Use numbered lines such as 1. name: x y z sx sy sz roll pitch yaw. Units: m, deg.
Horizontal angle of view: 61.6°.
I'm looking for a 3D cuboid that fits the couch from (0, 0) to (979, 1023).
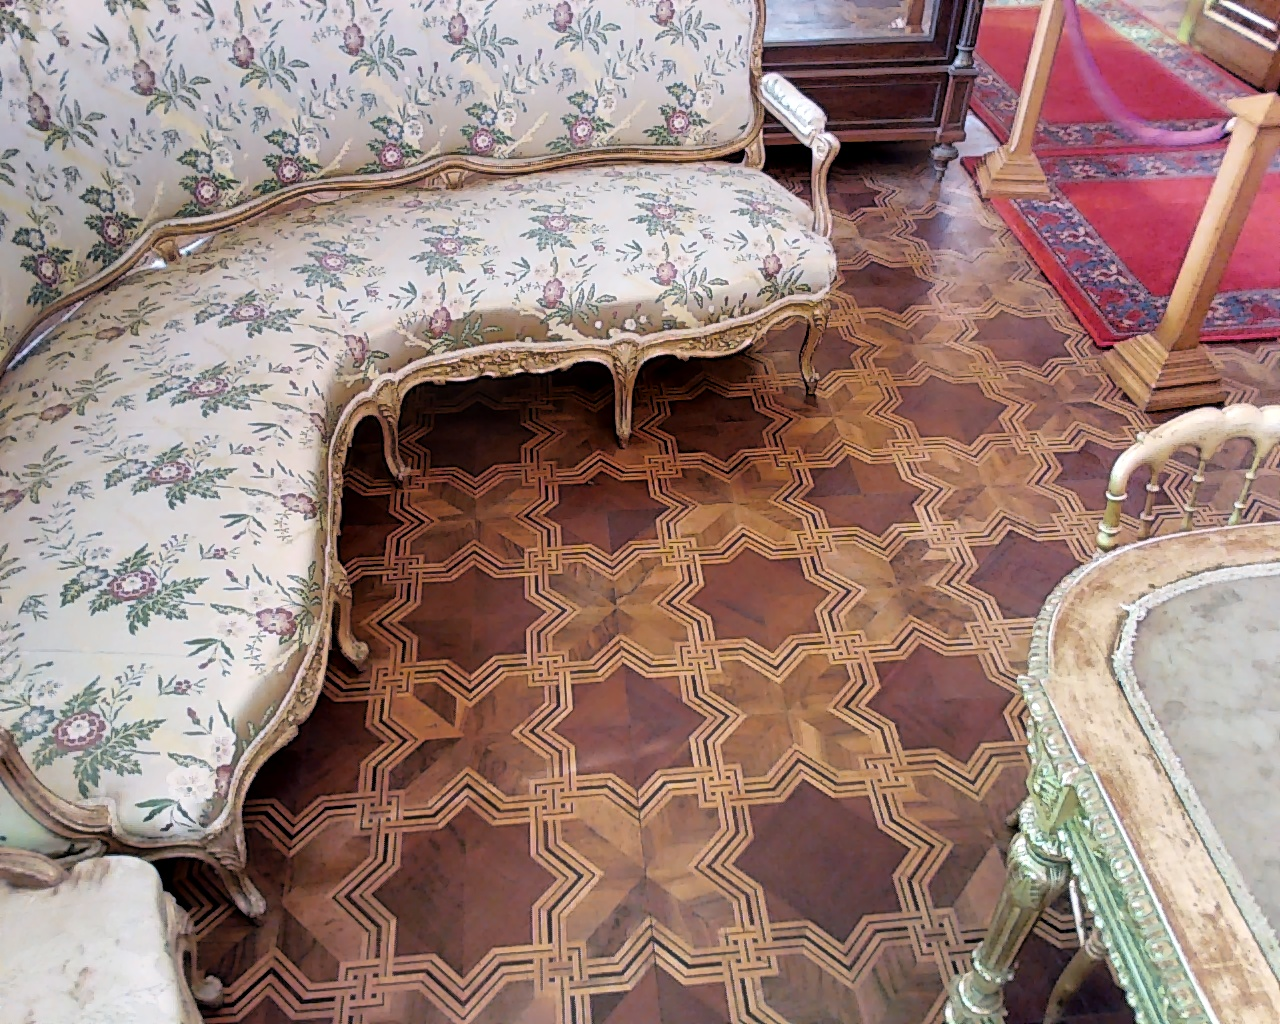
1. couch: -0.630 -0.550 2.330 1.600 1.140 2.810 25 48 25
